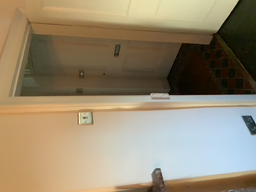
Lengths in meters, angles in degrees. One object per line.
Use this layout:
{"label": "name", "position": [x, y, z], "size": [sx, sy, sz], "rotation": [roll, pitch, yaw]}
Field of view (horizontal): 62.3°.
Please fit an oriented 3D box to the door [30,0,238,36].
{"label": "door", "position": [0.140, -0.900, 1.670], "size": [0.900, 1.750, 0.070], "rotation": [112, 153, -55]}
